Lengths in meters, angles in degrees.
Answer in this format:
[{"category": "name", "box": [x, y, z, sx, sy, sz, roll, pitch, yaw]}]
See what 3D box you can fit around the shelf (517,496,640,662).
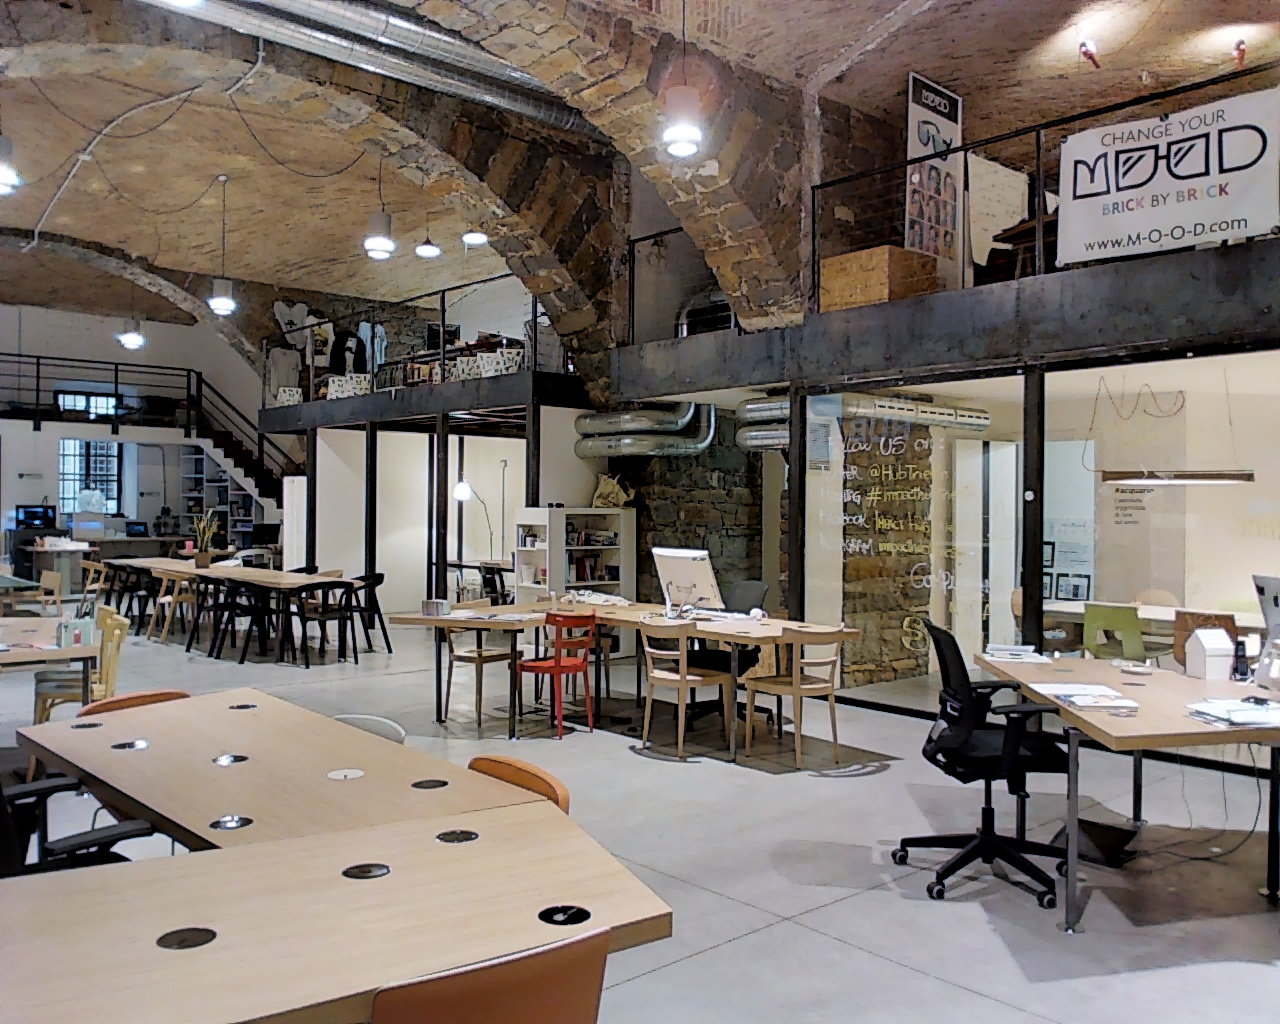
[{"category": "shelf", "box": [-0.590, 0.610, 10.350, 0.960, 1.510, 0.650, 1, 0, -41]}]
